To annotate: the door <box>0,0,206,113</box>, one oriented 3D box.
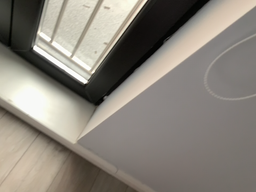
[{"bbox_3d":[-0.160,-0.660,0.350,1.130,2.000,0.070,37,52,-11],"label":"door"}]
